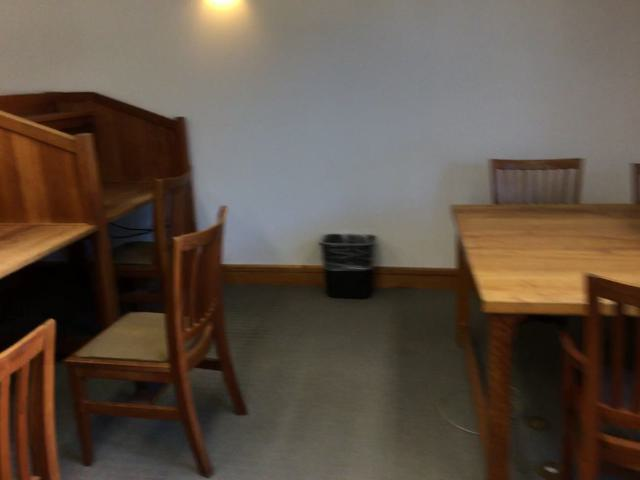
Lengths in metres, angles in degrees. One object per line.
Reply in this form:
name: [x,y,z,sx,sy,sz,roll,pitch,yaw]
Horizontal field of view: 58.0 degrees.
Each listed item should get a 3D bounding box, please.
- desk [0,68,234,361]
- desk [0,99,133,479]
desk: [-1.300,-0.250,3.530,1.070,1.430,1.390,1,14,10]
desk: [-1.560,0.120,2.350,1.000,1.320,1.330,6,15,8]
